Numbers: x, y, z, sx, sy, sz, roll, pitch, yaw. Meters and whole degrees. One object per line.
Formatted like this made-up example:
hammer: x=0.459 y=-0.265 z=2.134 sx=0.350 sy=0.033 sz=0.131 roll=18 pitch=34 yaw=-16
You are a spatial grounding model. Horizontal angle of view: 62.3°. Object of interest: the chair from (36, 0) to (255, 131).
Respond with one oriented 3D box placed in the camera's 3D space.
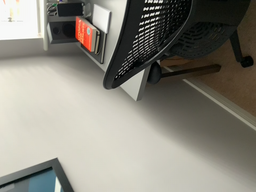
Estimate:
chair: x=0.230 y=-0.480 z=0.950 sx=0.760 sy=1.010 sz=0.660 roll=47 pitch=136 yaw=35
